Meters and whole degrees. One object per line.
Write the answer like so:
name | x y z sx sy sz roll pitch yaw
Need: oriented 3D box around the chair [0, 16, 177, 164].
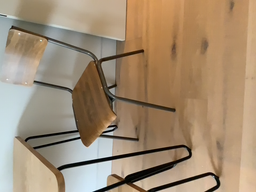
chair | -0.250 -0.020 1.280 0.460 0.830 0.550 -50 53 39
